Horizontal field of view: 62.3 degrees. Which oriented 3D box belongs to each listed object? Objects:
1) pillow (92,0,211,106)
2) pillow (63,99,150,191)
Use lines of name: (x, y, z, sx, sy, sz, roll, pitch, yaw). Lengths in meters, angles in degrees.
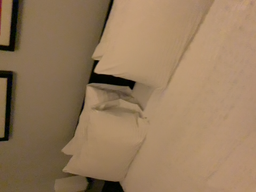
pillow: (0.130, -0.330, 1.040, 0.210, 0.390, 0.710, 42, 126, 27)
pillow: (-0.160, 0.350, 1.430, 0.200, 0.390, 0.600, 43, 127, 25)
